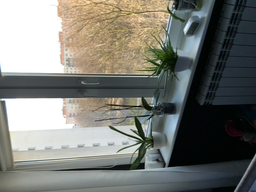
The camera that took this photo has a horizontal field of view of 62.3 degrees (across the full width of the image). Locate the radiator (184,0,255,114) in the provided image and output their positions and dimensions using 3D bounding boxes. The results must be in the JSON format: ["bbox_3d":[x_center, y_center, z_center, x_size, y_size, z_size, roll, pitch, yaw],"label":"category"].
[{"bbox_3d":[0.910,-0.260,1.610,0.190,0.750,0.810,-111,24,-56],"label":"radiator"}]
